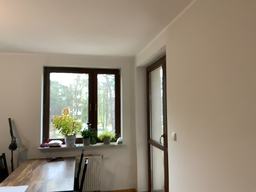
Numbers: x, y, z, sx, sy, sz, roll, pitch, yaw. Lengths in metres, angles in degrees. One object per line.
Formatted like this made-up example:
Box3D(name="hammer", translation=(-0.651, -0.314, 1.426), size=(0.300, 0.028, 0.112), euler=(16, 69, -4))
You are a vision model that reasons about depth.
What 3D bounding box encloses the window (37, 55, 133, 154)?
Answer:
Box3D(name="window", translation=(-0.790, 0.160, 4.140), size=(1.730, 1.750, 0.390), euler=(1, -3, -13))
